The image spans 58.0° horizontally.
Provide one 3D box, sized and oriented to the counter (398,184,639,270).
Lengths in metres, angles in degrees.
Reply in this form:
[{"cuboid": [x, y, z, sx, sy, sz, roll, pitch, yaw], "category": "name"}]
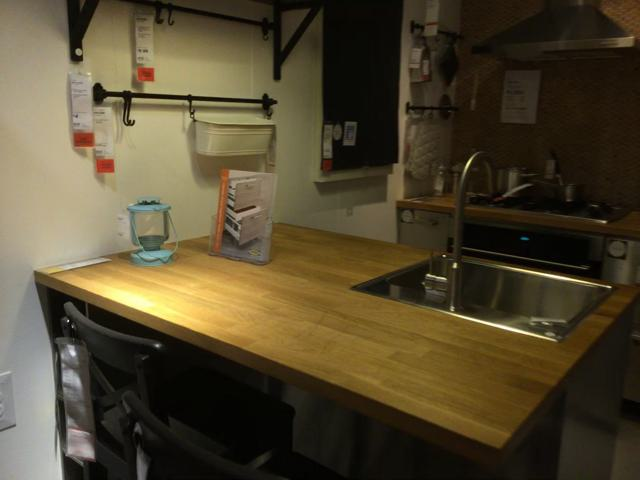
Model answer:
[{"cuboid": [1.200, -0.090, 2.810, 1.500, 0.250, 0.660, 8, 13, 39], "category": "counter"}]
